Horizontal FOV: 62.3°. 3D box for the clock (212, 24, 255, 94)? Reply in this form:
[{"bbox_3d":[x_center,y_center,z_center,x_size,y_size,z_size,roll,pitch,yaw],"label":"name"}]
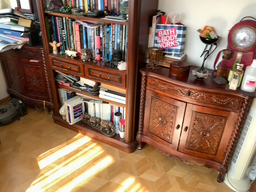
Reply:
[{"bbox_3d":[0.760,-0.260,1.440,0.240,0.380,0.250,16,33,23],"label":"clock"}]

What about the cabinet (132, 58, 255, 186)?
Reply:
[{"bbox_3d":[0.490,0.190,1.800,0.810,0.800,0.360,17,33,24],"label":"cabinet"}]
